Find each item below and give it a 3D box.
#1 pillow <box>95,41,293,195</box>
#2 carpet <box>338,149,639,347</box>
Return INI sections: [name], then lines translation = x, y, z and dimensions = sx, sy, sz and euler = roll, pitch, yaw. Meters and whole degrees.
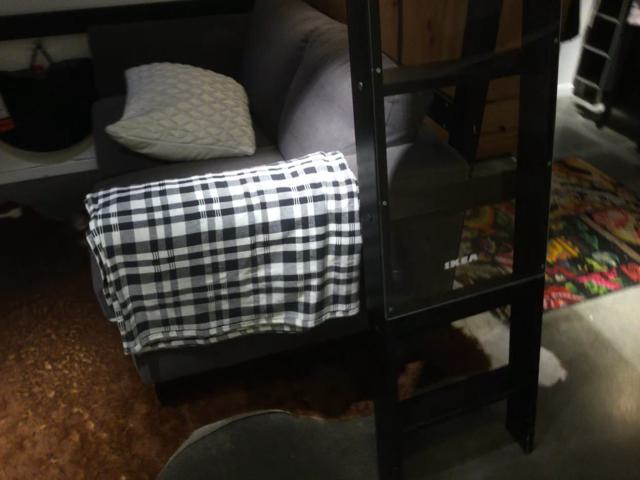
[pillow]
translation = -0.460, -0.460, 2.040
dimensions = 0.570, 0.230, 0.600
euler = -12, 39, -15
[carpet]
translation = 0.860, -0.050, 2.290
dimensions = 1.380, 0.040, 0.820
euler = -12, 39, -14
